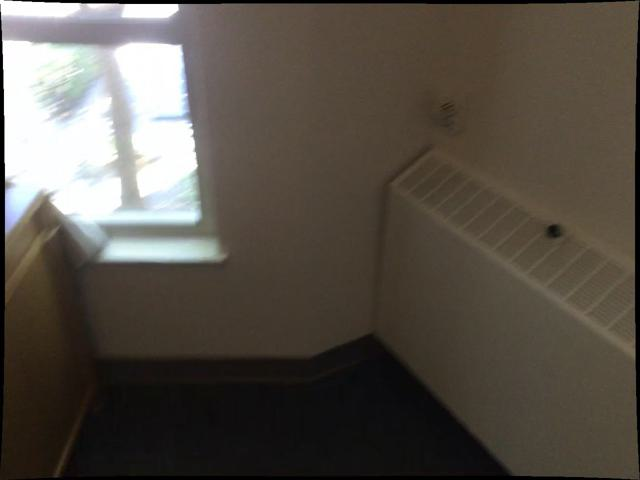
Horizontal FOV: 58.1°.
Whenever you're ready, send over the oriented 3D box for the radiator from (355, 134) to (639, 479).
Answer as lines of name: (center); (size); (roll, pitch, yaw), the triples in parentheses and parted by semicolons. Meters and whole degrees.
radiator: (0.469, 0.290, 1.510); (0.200, 0.781, 0.940); (-18, 42, -26)
